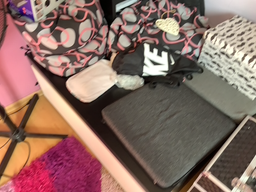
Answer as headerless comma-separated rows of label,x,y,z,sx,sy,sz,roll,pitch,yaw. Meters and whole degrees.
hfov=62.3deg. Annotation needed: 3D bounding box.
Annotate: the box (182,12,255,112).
box,0.560,-0.190,1.060,0.320,0.200,0.430,-36,59,-27
